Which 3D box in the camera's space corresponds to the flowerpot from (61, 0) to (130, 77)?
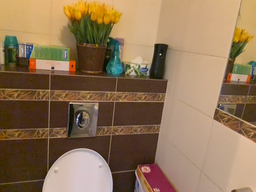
[{"bbox_3d":[-0.190,-0.310,1.130,0.300,0.350,0.240,2,16,-19],"label":"flowerpot"}]
